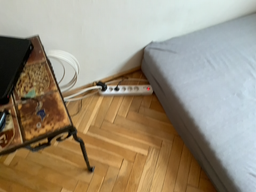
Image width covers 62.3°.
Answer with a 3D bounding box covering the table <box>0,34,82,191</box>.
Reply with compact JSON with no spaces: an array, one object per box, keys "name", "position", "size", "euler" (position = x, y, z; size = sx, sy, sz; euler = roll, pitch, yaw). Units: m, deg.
[{"name":"table","position":[-0.660,0.220,0.980],"size":[0.660,0.610,0.570],"euler":[-21,63,-18]}]
